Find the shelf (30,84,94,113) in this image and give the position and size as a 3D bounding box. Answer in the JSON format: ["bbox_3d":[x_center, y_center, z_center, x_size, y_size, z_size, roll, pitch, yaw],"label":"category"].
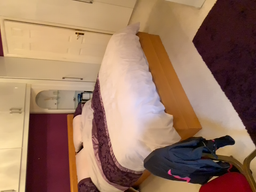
[{"bbox_3d":[-1.230,0.060,3.960,0.390,1.080,0.360,117,146,-47],"label":"shelf"}]

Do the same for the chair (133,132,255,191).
[{"bbox_3d":[0.550,0.590,1.260,0.460,0.830,0.580,119,145,-49],"label":"chair"}]

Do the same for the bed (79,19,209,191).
[{"bbox_3d":[-0.110,0.370,3.020,2.140,0.720,1.610,117,146,-47],"label":"bed"}]
